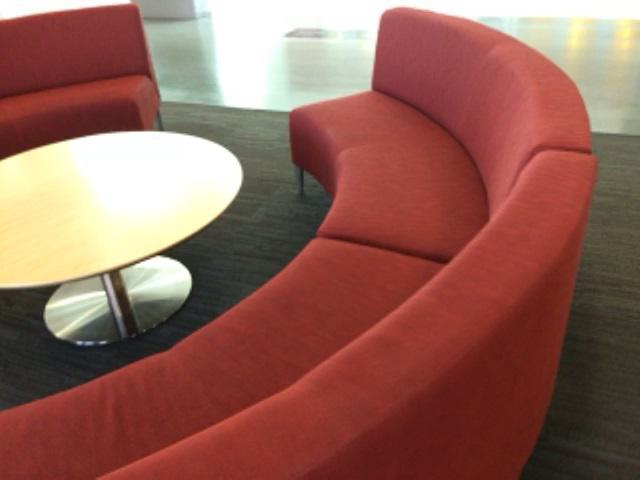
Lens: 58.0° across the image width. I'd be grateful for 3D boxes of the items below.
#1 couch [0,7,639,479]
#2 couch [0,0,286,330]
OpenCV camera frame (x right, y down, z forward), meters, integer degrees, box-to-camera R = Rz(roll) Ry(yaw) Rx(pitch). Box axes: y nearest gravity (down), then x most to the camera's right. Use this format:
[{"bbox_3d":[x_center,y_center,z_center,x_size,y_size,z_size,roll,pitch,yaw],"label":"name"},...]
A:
[{"bbox_3d":[0.080,0.080,1.550,1.270,0.810,2.950,11,34,26],"label":"couch"},{"bbox_3d":[-1.670,-0.360,2.410,1.410,0.960,3.240,13,35,28],"label":"couch"}]
